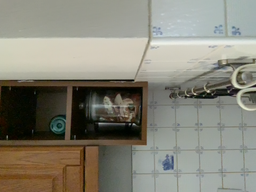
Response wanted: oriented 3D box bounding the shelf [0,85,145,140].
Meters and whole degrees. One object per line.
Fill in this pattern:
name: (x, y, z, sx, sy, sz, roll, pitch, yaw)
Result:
shelf: (-0.280, 0.060, 0.810, 0.290, 0.660, 0.170, 115, 155, -86)
